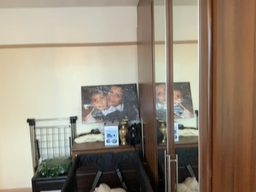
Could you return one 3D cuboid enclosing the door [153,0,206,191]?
[{"bbox_3d":[0.310,0.310,1.490,0.050,2.320,1.020,-2,6,-3],"label":"door"}]

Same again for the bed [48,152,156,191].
[{"bbox_3d":[-0.230,1.060,1.960,0.820,0.710,0.960,-3,6,-7],"label":"bed"}]
